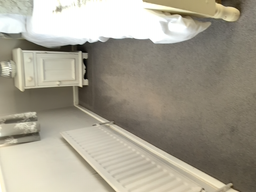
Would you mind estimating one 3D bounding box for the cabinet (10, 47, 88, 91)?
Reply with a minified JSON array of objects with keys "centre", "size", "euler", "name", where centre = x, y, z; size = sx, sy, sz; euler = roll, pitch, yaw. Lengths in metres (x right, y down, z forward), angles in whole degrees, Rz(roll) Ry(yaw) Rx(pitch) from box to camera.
[{"centre":[-0.870,-0.320,2.390],"size":[0.360,0.740,0.420],"euler":[17,109,53],"name":"cabinet"}]
